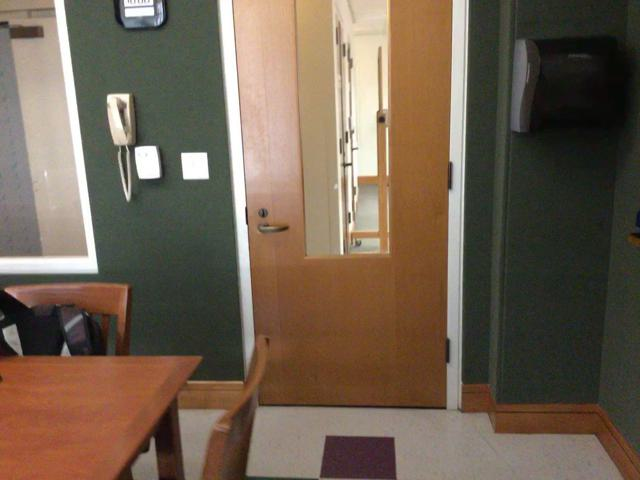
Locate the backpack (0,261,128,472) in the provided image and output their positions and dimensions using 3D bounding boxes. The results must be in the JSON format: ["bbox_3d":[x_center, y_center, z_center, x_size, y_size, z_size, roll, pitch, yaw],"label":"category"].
[{"bbox_3d":[-0.850,0.370,1.770,0.380,0.520,0.330,-4,12,-5],"label":"backpack"}]

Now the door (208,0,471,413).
[{"bbox_3d":[0.110,-0.190,2.590,1.060,2.000,0.180,-1,12,6],"label":"door"}]

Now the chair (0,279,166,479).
[{"bbox_3d":[-0.840,0.640,1.750,0.480,0.890,0.640,-1,12,5],"label":"chair"}]
